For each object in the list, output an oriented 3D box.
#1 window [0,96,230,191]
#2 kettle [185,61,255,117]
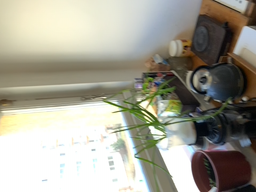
[{"bbox_3d":[-0.180,0.470,1.260,1.030,1.280,0.280,-112,22,-50],"label":"window"},{"bbox_3d":[0.460,-0.040,1.100,0.180,0.220,0.210,-112,22,-49],"label":"kettle"}]
